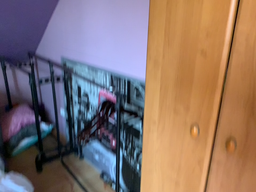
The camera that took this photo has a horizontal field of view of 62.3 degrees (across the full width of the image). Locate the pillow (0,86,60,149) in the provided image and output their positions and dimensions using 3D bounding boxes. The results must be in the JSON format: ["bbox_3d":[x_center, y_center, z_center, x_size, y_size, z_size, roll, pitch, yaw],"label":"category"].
[{"bbox_3d":[-1.220,0.210,2.540,0.490,0.400,0.720,-15,26,-37],"label":"pillow"}]

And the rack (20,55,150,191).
[{"bbox_3d":[-0.440,0.260,1.760,0.360,0.970,1.290,-16,27,-38],"label":"rack"}]
